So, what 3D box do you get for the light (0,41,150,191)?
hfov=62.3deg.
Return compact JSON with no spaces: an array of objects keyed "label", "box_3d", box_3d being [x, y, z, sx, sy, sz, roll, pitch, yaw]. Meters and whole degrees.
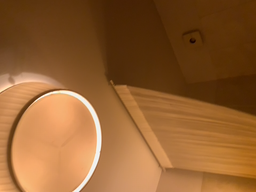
[{"label":"light","box_3d":[-0.260,0.180,0.800,0.190,0.560,0.580,-30,-74,42]}]
